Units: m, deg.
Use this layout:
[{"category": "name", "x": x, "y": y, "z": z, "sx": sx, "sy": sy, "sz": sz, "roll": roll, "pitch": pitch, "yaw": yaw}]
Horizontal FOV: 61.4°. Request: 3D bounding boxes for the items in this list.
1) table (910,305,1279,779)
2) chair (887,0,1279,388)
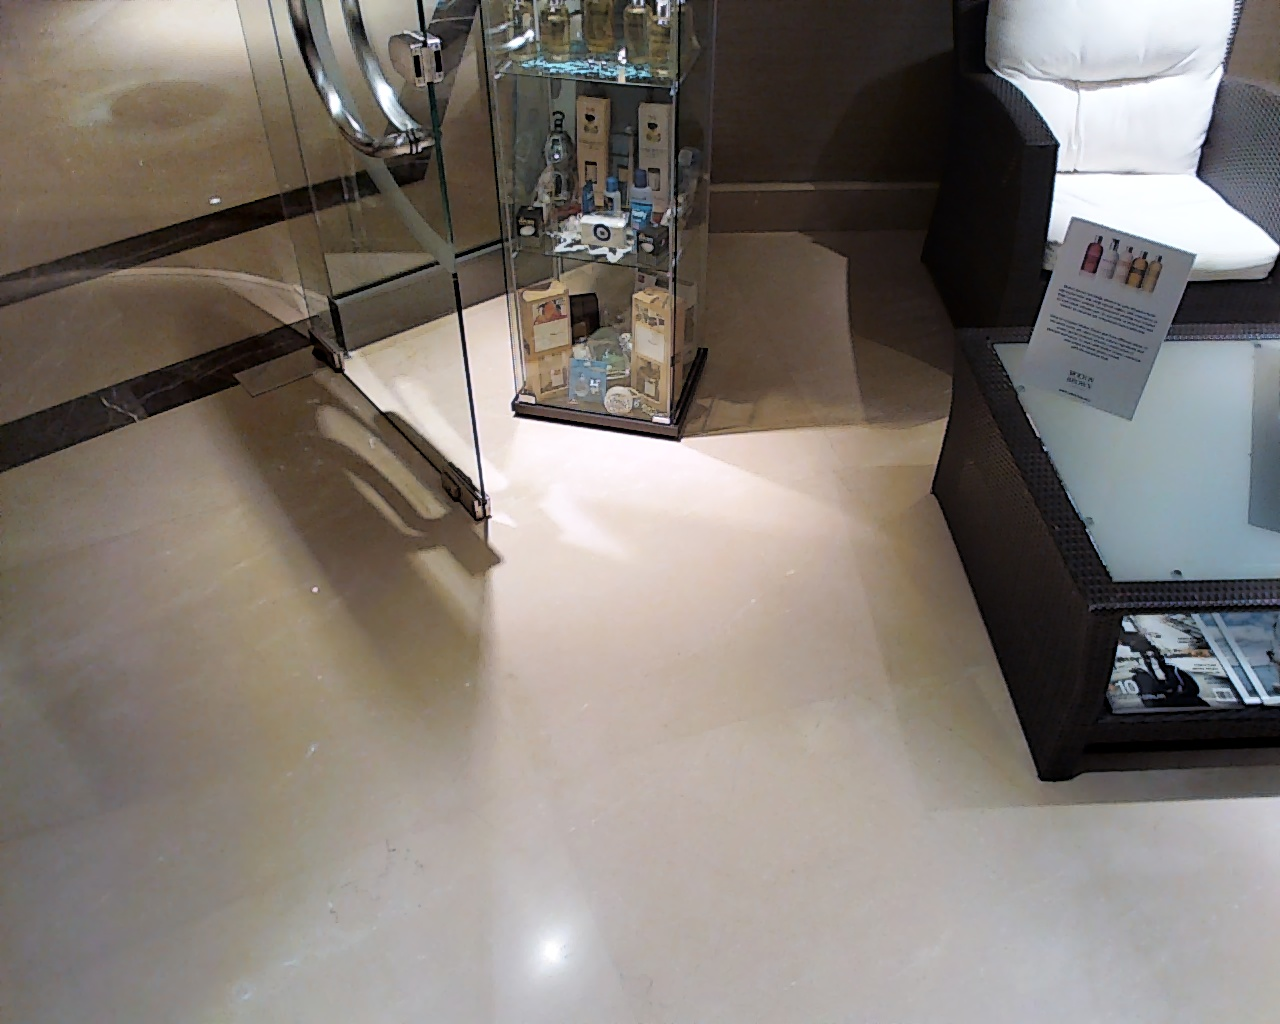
[{"category": "table", "x": 1.260, "y": 0.010, "z": 2.070, "sx": 1.230, "sy": 0.430, "sz": 0.830, "roll": -2, "pitch": 42, "yaw": -2}, {"category": "chair", "x": 1.230, "y": -0.940, "z": 2.810, "sx": 0.860, "sy": 0.830, "sz": 0.910, "roll": -1, "pitch": 42, "yaw": -2}]
